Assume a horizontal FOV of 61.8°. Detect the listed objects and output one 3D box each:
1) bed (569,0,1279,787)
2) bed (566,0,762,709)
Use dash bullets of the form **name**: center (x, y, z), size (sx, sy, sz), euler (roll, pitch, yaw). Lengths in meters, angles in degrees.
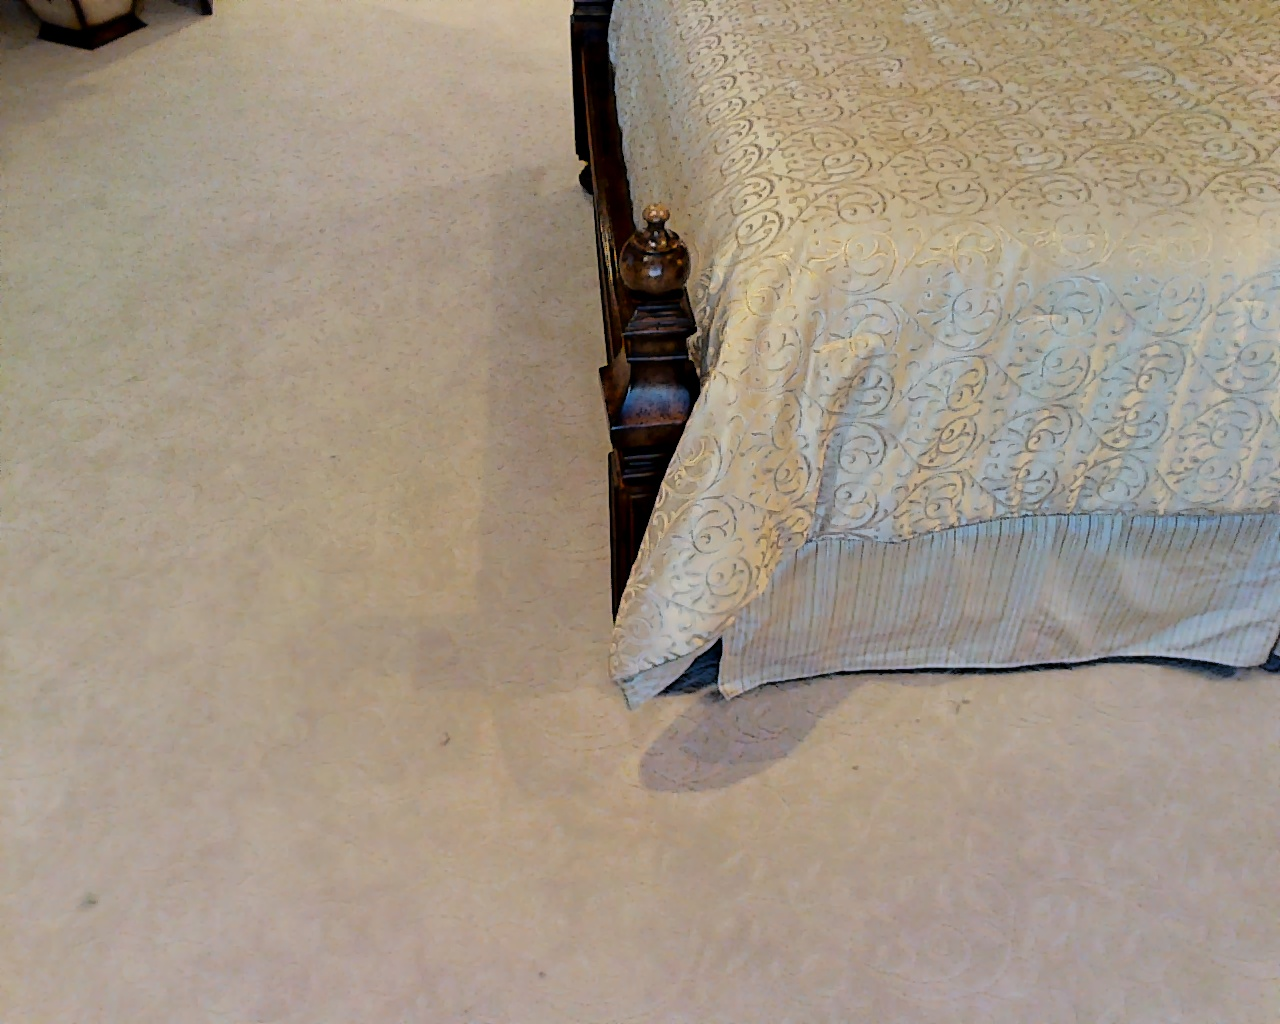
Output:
- **bed**: center (0.960, -0.760, 2.380), size (2.191, 0.900, 2.440), euler (-3, 43, -2)
- **bed**: center (-0.030, -0.730, 2.340), size (0.220, 0.920, 2.150), euler (-3, 43, -2)
